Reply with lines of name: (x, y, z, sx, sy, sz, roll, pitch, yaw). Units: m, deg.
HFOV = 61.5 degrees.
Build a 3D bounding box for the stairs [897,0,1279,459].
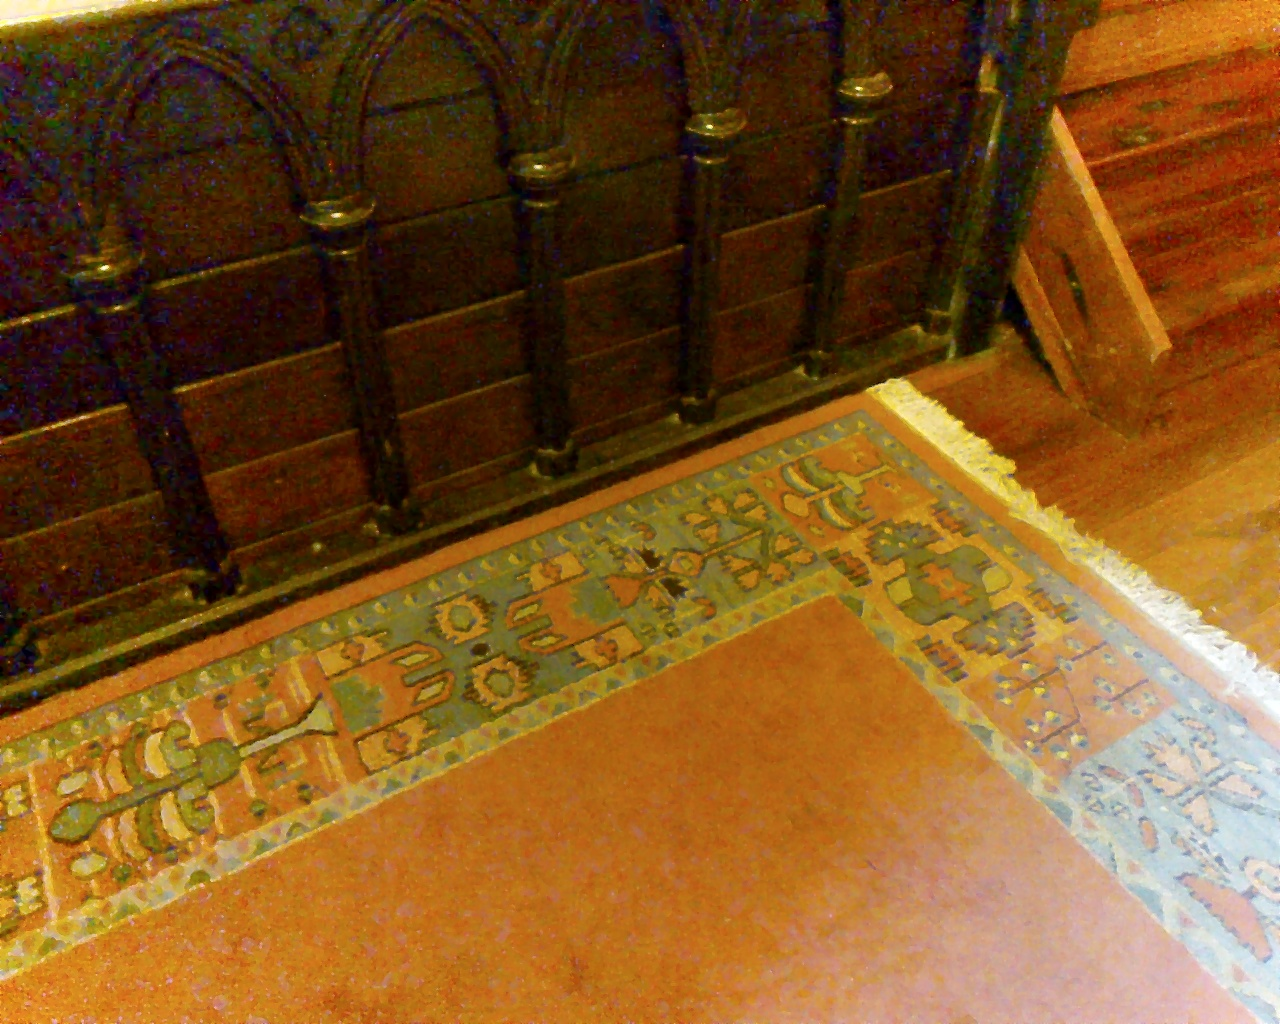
stairs: (1.110, -0.670, 2.040, 0.920, 0.640, 0.650, -21, 46, -22)
